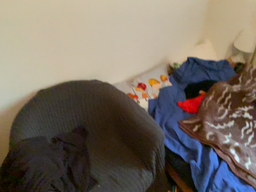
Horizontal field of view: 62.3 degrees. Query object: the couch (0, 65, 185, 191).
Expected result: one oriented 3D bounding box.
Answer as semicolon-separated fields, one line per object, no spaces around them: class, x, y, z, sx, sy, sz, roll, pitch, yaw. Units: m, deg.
couch;-0.250;0.360;1.410;0.770;0.670;0.800;-21;43;-26
